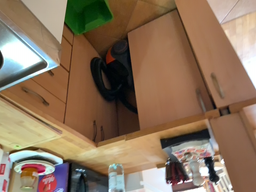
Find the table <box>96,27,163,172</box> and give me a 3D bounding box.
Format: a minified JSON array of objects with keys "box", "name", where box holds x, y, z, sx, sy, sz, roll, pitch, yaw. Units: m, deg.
[{"box":[-0.010,0.000,1.490,0.230,0.920,0.410,-19,143,17],"name":"table"}]
